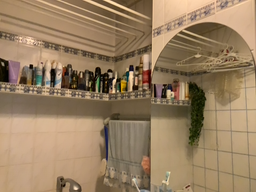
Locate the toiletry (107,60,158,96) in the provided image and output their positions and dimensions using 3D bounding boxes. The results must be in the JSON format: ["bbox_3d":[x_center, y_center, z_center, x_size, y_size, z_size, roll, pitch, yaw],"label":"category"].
[{"bbox_3d":[0.020,-0.120,1.590,0.150,0.200,0.410,6,-8,-38],"label":"toiletry"}]

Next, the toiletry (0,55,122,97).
[{"bbox_3d":[-0.540,-0.130,1.450,1.190,0.170,0.070,6,-8,-38],"label":"toiletry"}]

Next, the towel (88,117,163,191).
[{"bbox_3d":[-0.040,0.420,1.520,0.170,0.520,0.600,7,-8,-42],"label":"towel"}]
